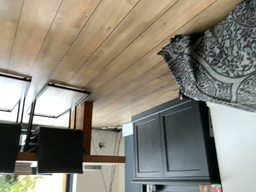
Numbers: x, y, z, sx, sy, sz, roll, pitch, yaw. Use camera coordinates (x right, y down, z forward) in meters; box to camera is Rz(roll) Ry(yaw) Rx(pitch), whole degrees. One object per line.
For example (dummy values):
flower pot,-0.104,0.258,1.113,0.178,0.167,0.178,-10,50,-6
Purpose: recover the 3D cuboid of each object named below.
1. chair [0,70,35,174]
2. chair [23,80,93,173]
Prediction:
chair,-1.280,0.270,2.020,0.510,0.880,0.580,13,156,-33
chair,-0.760,0.380,2.340,0.510,0.880,0.580,13,156,-33
